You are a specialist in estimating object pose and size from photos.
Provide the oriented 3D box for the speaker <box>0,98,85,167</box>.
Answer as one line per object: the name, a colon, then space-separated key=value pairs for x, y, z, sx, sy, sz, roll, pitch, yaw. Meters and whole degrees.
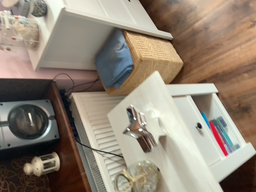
speaker: x=-0.810 y=0.260 z=1.300 sx=0.430 sy=0.930 sz=0.300 roll=-34 pitch=69 yaw=43
